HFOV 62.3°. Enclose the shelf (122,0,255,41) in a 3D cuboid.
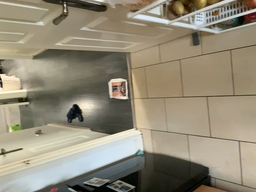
[{"bbox_3d":[0.440,-0.430,0.940,0.610,0.700,0.170,-4,93,49],"label":"shelf"}]
